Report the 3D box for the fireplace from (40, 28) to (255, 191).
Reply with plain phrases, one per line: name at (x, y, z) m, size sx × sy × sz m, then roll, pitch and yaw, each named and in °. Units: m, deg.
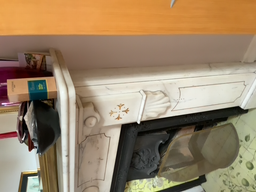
fireplace at (0.250, 0.530, 1.370) m, size 0.720 × 1.330 × 1.680 m, roll -125°, pitch 36°, yaw -47°
